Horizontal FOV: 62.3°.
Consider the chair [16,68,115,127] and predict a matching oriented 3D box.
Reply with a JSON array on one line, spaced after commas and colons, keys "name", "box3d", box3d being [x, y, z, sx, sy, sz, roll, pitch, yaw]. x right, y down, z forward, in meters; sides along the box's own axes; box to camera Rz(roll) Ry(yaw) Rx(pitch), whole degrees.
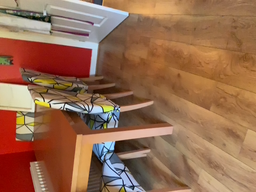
[{"name": "chair", "box3d": [-0.690, 0.000, 2.340, 0.460, 0.920, 0.460, 33, 117, 53]}]

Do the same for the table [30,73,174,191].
[{"name": "table", "box3d": [-0.460, 0.450, 2.160, 1.600, 0.740, 0.980, 32, 116, 53]}]
